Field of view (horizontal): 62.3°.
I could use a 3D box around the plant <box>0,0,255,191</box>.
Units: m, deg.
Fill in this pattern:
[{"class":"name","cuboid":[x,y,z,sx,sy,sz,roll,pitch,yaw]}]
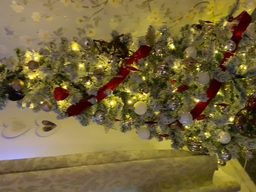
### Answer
[{"class":"plant","cuboid":[0.010,0.010,1.140,0.890,1.860,0.940,-116,37,-45]}]
